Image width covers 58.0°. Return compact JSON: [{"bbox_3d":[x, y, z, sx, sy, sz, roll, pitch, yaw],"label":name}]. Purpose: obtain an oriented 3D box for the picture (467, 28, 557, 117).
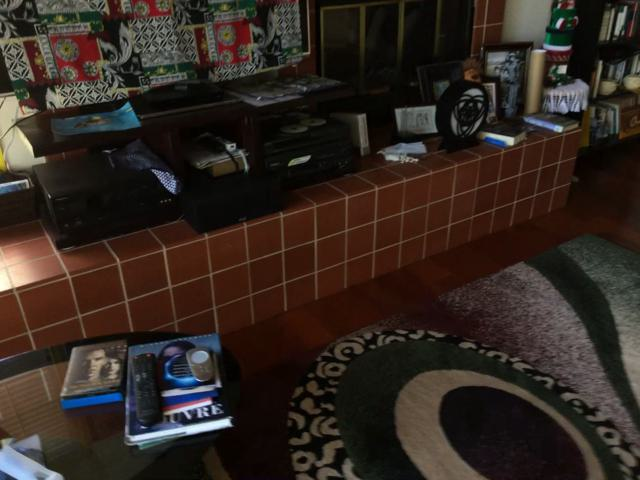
[{"bbox_3d":[1.060,-0.940,3.220,0.340,0.390,0.290,-19,32,-25],"label":"picture"}]
